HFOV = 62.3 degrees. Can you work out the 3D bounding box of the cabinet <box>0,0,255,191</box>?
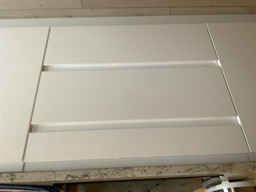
[{"bbox_3d":[-0.740,0.050,1.120,3.230,0.890,0.600,-2,149,-2],"label":"cabinet"}]
